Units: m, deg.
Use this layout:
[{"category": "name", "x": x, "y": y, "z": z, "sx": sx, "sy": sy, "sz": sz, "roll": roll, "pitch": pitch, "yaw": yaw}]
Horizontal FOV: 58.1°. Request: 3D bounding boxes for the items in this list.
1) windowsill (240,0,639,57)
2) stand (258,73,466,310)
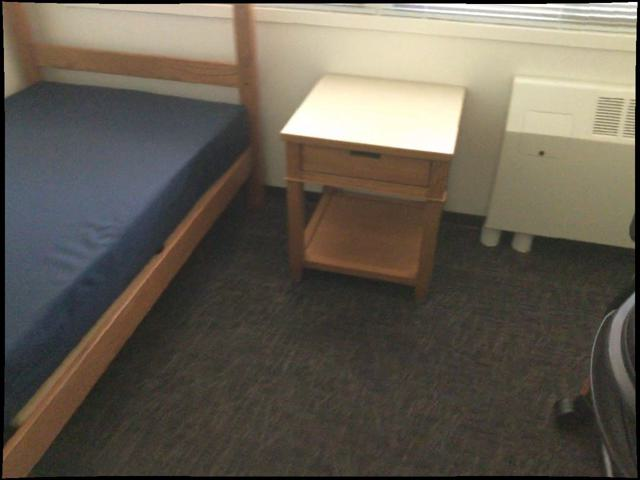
[{"category": "windowsill", "x": 0.539, "y": -0.702, "z": 1.890, "sx": 1.666, "sy": 0.110, "sz": 0.100, "roll": 8, "pitch": 38, "yaw": 13}, {"category": "stand", "x": 0.170, "y": -0.190, "z": 2.040, "sx": 0.579, "sy": 0.581, "sz": 0.530, "roll": 8, "pitch": 38, "yaw": 13}]
